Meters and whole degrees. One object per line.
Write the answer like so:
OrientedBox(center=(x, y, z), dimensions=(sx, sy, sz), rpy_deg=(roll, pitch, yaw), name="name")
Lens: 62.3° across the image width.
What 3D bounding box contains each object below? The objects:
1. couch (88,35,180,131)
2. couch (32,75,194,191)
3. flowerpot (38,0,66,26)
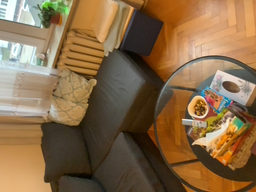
OrientedBox(center=(0.010, -0.130, 2.090), dimensions=(0.760, 0.410, 0.540), rpy_deg=(55, 126, 39), name="couch")
OrientedBox(center=(-0.140, 0.870, 1.870), dimensions=(2.170, 0.780, 0.930), rpy_deg=(55, 126, 39), name="couch")
OrientedBox(center=(-0.700, -0.780, 1.940), dimensions=(0.130, 0.180, 0.190), rpy_deg=(44, 119, 44), name="flowerpot")
